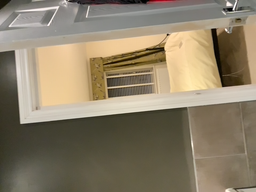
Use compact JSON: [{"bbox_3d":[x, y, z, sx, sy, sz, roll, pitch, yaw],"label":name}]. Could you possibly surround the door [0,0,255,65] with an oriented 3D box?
[{"bbox_3d":[0.320,-0.490,1.000,0.760,2.080,0.120,-95,0,-46],"label":"door"}]
